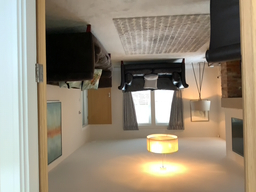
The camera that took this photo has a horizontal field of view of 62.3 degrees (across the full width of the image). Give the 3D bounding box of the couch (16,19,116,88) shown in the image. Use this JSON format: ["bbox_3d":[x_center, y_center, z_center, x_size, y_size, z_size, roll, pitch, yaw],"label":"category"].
[{"bbox_3d":[-0.960,-0.640,4.180,1.200,0.850,2.330,-1,180,2],"label":"couch"}]

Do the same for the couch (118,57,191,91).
[{"bbox_3d":[0.760,-0.630,6.470,2.040,0.890,1.050,-1,180,3],"label":"couch"}]

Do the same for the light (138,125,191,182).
[{"bbox_3d":[0.670,1.080,4.140,0.750,0.770,0.660,-16,179,1],"label":"light"}]
